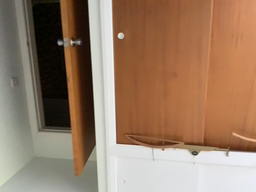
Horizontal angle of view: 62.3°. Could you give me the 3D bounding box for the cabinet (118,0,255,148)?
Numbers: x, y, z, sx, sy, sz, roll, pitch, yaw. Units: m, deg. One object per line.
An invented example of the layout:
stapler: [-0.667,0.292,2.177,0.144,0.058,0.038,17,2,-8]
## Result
cabinet: [0.520,-0.480,1.280,1.160,1.690,0.050,1,-166,8]
